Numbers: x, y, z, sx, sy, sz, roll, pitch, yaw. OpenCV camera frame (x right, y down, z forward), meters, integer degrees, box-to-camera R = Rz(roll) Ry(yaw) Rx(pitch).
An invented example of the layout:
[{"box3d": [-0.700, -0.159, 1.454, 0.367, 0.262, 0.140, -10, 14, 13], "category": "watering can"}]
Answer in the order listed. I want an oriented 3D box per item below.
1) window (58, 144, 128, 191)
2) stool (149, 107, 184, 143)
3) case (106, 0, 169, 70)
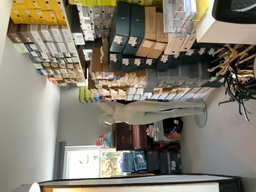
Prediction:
[{"box3d": [-0.720, 1.670, 4.500, 0.280, 1.410, 1.230, 113, 156, -73], "category": "window"}, {"box3d": [0.700, 0.550, 3.960, 0.350, 0.510, 0.600, 108, 160, -69], "category": "stool"}, {"box3d": [0.040, -0.580, 2.050, 0.640, 0.500, 0.450, 114, 155, -74], "category": "case"}]
